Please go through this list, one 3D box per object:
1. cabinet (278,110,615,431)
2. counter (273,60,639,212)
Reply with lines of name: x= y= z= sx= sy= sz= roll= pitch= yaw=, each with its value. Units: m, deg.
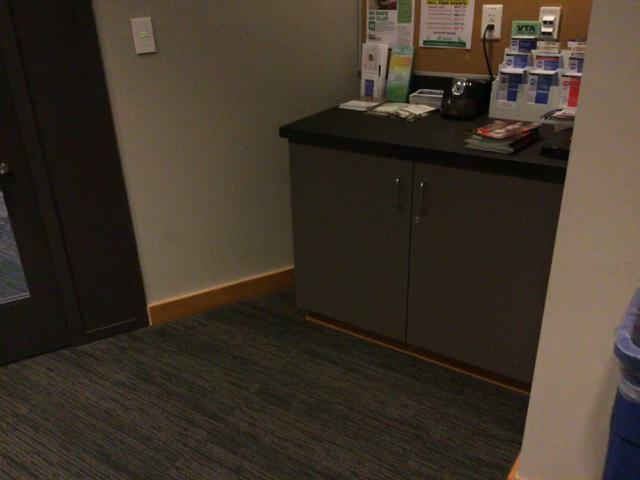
cabinet: x=0.320 y=0.060 z=2.000 sx=1.090 sy=0.840 sz=0.140 roll=18 pitch=29 yaw=32
counter: x=0.450 y=-0.420 z=2.000 sx=1.090 sy=0.240 sz=0.600 roll=18 pitch=29 yaw=32
